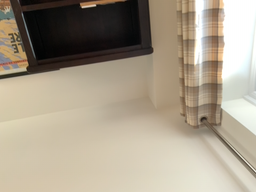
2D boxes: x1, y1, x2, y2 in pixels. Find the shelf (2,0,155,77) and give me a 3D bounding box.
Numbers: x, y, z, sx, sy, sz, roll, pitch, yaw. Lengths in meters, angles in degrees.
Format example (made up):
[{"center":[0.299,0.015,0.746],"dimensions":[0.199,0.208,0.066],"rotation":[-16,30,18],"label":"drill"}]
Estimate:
[{"center":[-0.390,-1.100,1.330],"dimensions":[0.920,1.790,0.400],"rotation":[-10,-155,-6],"label":"shelf"}]
